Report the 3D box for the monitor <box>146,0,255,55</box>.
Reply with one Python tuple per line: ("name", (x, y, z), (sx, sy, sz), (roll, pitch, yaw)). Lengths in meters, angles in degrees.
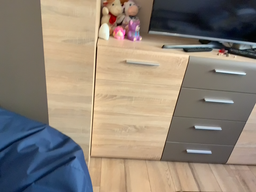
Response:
("monitor", (0.610, -0.540, 1.190), (0.930, 0.570, 0.070), (5, 29, -8))
